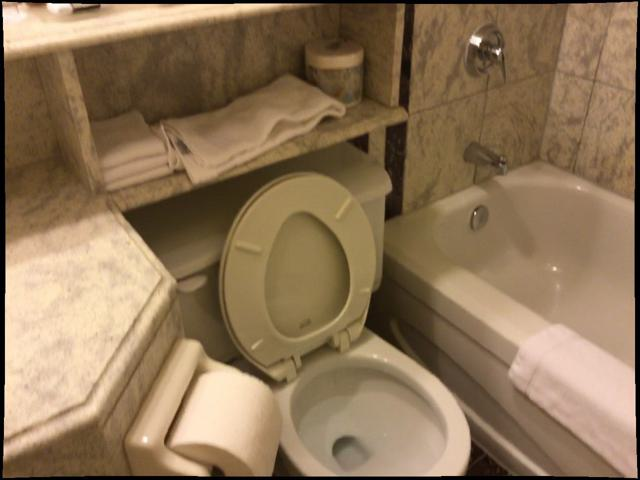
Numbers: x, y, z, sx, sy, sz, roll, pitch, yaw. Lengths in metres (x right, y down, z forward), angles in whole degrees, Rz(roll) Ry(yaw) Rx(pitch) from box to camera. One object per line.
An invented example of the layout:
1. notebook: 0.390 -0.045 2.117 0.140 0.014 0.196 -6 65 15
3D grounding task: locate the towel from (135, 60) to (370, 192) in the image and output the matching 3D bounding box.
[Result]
1. towel: -0.120 -0.230 1.090 0.380 0.080 0.210 -25 41 -27

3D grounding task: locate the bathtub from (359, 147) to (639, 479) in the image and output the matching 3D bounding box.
1. bathtub: 0.849 0.320 1.390 0.770 0.410 1.430 -25 41 -27

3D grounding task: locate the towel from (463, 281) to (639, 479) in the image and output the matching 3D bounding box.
1. towel: 0.599 0.340 1.170 0.180 0.170 0.630 -25 41 -27

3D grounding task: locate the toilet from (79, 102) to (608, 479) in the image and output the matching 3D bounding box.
1. toilet: 0.020 0.250 1.220 0.630 0.761 0.680 -25 41 -27
